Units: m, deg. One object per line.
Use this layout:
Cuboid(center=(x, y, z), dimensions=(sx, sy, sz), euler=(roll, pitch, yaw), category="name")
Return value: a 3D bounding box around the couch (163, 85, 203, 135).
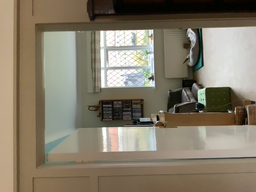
Cuboid(center=(1.140, 0.290, 4.570), dimensions=(0.710, 0.600, 0.770), euler=(-92, 0, -59), category="couch")
